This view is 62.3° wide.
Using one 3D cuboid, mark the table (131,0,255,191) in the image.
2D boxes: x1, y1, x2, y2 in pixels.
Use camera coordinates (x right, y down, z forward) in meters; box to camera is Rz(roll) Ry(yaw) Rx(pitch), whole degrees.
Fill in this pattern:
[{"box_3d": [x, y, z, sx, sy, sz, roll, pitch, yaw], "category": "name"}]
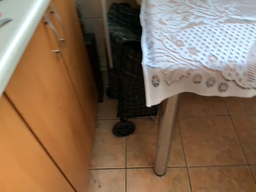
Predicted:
[{"box_3d": [0.560, -0.080, 0.930, 1.070, 0.760, 0.710, -2, 49, 2], "category": "table"}]
